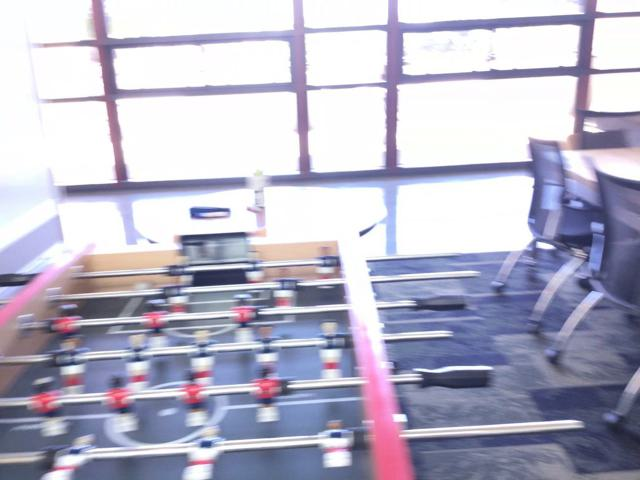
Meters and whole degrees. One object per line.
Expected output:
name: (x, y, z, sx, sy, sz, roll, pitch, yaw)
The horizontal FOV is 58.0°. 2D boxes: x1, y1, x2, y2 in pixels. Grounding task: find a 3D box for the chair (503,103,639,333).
chair: (1.280, -0.130, 2.830, 0.560, 0.930, 0.580, -7, 19, 3)
